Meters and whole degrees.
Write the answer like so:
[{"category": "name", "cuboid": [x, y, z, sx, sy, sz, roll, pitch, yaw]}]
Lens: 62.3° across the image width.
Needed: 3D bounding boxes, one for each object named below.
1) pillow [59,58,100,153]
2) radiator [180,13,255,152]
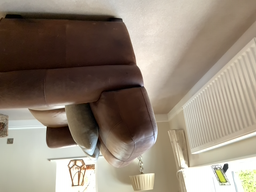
[{"category": "pillow", "cuboid": [-0.290, 0.080, 1.350, 0.200, 0.490, 0.410, -2, 158, -8]}, {"category": "radiator", "cuboid": [0.800, 0.050, 1.820, 0.160, 0.660, 1.370, -2, 159, -7]}]
